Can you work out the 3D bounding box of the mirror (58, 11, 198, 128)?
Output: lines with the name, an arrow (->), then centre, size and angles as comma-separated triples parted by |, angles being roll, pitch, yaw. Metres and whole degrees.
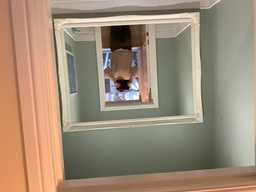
mirror -> 0.030, -0.260, 2.100 | 1.320, 1.070, 0.030 | -4, -175, -3
